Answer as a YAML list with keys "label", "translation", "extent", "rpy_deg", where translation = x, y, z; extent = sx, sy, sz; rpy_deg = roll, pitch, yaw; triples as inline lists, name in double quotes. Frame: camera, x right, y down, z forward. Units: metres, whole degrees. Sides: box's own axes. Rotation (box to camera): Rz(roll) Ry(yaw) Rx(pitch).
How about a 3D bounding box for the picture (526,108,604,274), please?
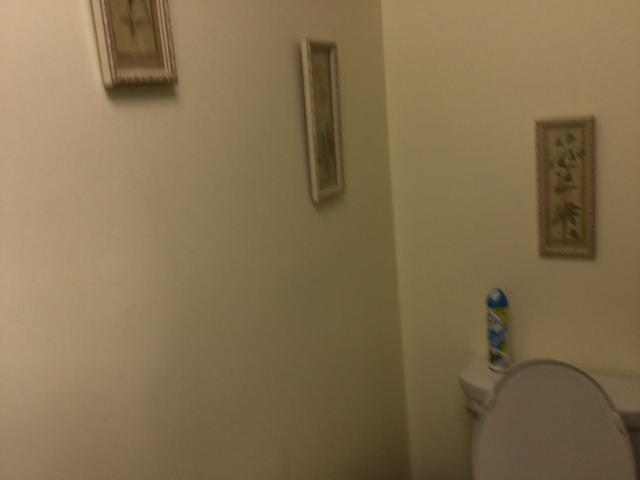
- label: "picture"
  translation: [0.580, -0.110, 1.370]
  extent: [0.160, 0.380, 0.030]
  rpy_deg: [1, 11, 33]

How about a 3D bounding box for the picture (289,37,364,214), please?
- label: "picture"
  translation: [0.020, -0.250, 1.280]
  extent: [0.040, 0.360, 0.190]
  rpy_deg: [1, 11, 33]

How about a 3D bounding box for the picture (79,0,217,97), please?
- label: "picture"
  translation: [-0.250, -0.380, 0.820]
  extent: [0.040, 0.340, 0.200]
  rpy_deg: [1, 11, 33]

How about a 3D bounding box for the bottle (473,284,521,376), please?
- label: "bottle"
  translation: [0.460, 0.230, 1.500]
  extent: [0.090, 0.210, 0.090]
  rpy_deg: [1, 11, 33]
